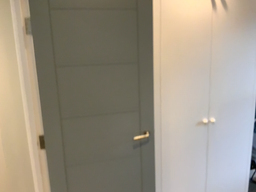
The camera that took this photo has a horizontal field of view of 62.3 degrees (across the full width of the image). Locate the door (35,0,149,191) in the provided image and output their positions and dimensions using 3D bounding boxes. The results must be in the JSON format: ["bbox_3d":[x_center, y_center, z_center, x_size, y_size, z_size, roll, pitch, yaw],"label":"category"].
[{"bbox_3d":[-0.180,0.310,1.490,0.670,1.980,0.040,-5,12,-13],"label":"door"}]
